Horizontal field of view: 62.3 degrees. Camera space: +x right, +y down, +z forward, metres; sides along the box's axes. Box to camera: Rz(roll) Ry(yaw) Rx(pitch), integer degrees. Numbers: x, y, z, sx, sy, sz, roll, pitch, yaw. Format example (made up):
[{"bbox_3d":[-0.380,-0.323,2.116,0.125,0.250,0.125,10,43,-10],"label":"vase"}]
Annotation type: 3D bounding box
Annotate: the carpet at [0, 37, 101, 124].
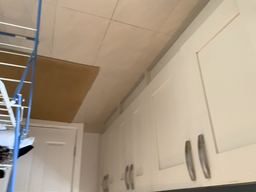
[{"bbox_3d":[-0.860,-0.020,2.110,0.800,0.070,1.460,9,152,-21],"label":"carpet"}]
